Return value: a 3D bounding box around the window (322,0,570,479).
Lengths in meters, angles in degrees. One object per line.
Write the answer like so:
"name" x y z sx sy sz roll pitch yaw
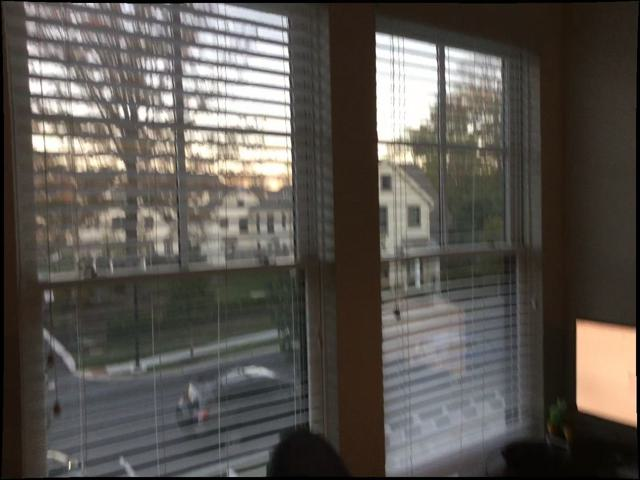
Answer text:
"window" 0.529 0.060 2.130 1.028 1.864 0.150 -7 7 -31

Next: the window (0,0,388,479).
"window" -0.359 0.070 1.550 1.068 1.774 0.300 -7 7 -31
